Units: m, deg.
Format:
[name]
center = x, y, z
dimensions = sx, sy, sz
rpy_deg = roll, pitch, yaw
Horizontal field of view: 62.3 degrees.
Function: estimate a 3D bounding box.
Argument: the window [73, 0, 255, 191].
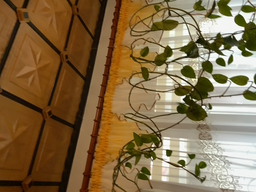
[window]
center = 0.600, -0.110, 1.450
dimensions = 0.260, 1.710, 2.140
rpy_deg = 51, -137, -65
